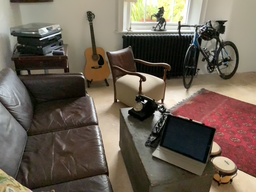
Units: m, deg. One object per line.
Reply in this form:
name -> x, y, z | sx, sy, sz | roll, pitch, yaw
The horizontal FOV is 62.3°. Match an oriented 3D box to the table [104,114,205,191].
table -> 0.100, 0.550, 1.480 | 0.400, 0.450, 0.840 | -5, 27, -14

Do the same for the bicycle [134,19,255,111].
bicycle -> 1.100, -0.570, 3.300 | 1.920, 1.080, 0.590 | -11, 29, -25
